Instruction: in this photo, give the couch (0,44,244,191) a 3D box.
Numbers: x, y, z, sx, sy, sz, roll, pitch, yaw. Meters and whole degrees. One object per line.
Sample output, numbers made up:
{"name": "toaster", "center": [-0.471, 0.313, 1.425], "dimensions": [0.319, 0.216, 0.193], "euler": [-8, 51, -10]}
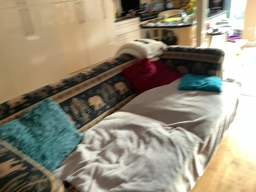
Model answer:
{"name": "couch", "center": [0.060, 0.200, 1.860], "dimensions": [1.160, 0.730, 2.450], "euler": [13, 31, 36]}
